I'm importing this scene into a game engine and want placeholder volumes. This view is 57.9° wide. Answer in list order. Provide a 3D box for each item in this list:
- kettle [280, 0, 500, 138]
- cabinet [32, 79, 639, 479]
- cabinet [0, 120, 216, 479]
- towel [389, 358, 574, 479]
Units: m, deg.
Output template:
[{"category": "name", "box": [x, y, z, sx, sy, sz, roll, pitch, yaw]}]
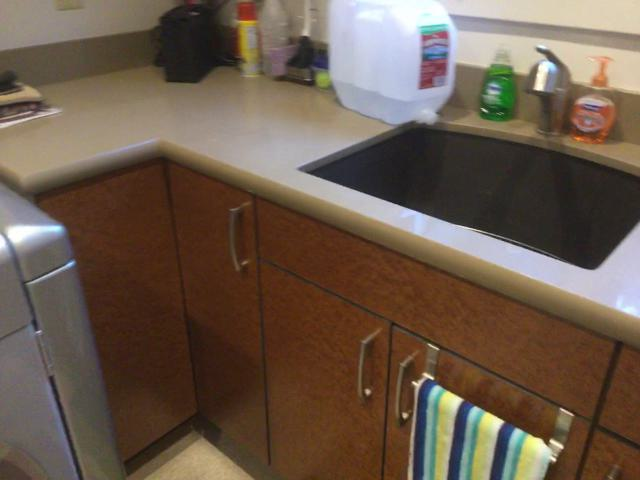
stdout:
[{"category": "kettle", "box": [0.150, -0.430, 1.340, 0.400, 0.250, 0.280, 22, 34, 35]}, {"category": "cabinet", "box": [0.240, 0.260, 1.310, 2.090, 0.830, 0.610, 22, 34, 35]}, {"category": "cabinet", "box": [-0.440, 0.180, 1.320, 0.100, 0.830, 0.370, 22, 34, 35]}, {"category": "towel", "box": [0.240, 0.420, 0.960, 0.250, 0.390, 0.070, 22, 34, 35]}]
